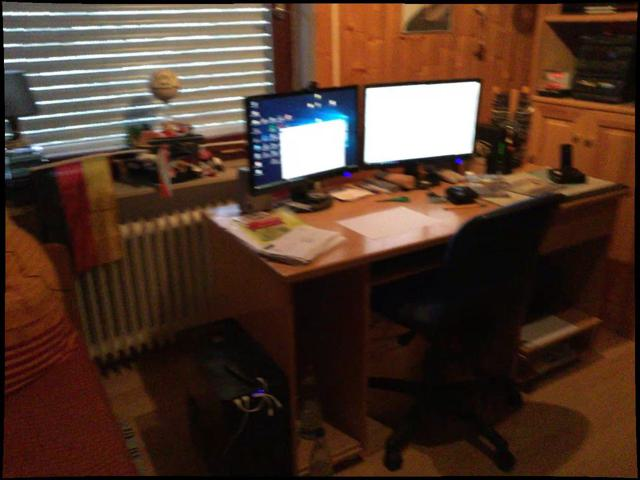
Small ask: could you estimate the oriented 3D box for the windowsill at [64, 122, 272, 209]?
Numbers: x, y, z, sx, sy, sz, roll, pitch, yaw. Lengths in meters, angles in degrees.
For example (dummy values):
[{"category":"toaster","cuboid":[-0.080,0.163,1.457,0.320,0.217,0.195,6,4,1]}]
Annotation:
[{"category":"windowsill","cuboid":[-0.619,-0.330,2.420,0.779,0.140,0.290,-18,28,-27]}]
